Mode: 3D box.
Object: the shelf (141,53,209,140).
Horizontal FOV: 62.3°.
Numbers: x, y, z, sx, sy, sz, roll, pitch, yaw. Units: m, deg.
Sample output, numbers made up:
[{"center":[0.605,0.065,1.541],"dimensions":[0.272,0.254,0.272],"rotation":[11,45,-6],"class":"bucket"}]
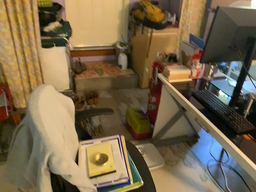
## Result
[{"center":[0.440,0.000,2.190],"dimensions":[0.440,0.760,0.380],"rotation":[-7,32,-18],"class":"shelf"}]
